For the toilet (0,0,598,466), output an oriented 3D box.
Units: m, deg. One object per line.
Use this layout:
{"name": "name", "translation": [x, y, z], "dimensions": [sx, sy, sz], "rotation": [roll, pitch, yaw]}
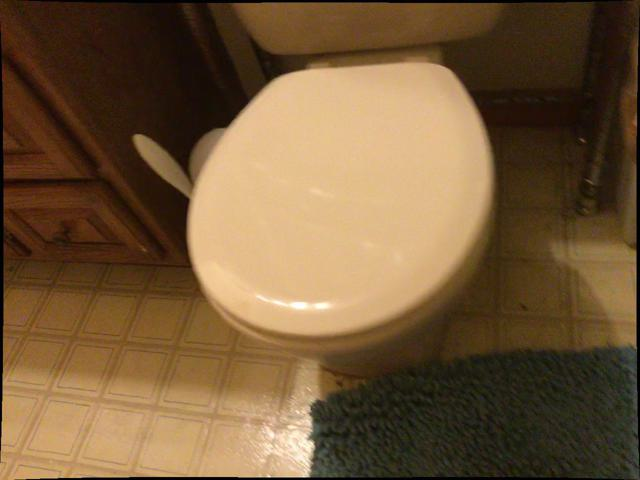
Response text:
{"name": "toilet", "translation": [0.040, -0.170, 0.800], "dimensions": [0.490, 0.740, 0.670], "rotation": [1, 54, 17]}
